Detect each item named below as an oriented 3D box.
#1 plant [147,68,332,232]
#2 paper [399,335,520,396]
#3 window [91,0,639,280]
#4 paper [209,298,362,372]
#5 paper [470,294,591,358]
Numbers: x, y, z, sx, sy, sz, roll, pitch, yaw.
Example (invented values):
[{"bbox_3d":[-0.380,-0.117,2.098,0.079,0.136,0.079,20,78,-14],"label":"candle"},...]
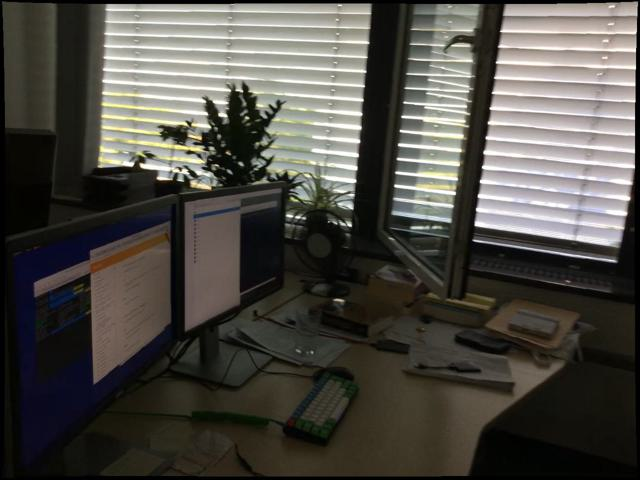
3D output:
[{"bbox_3d":[-0.400,-0.480,2.940,0.739,0.701,0.530,8,14,21],"label":"plant"},{"bbox_3d":[0.400,0.350,1.650,0.310,0.020,0.250,7,14,15],"label":"paper"},{"bbox_3d":[0.330,-0.791,2.780,3.387,1.581,0.270,8,14,21],"label":"window"},{"bbox_3d":[-0.100,0.280,1.790,0.370,0.050,0.300,10,15,26],"label":"paper"},{"bbox_3d":[0.719,0.280,1.960,0.290,0.050,0.340,13,17,36],"label":"paper"}]
